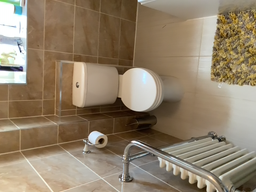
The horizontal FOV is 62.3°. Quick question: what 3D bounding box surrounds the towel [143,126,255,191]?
[{"bbox_3d":[0.490,0.340,1.240,0.500,0.630,0.120,14,103,48],"label":"towel"}]
